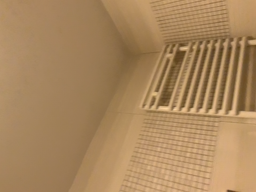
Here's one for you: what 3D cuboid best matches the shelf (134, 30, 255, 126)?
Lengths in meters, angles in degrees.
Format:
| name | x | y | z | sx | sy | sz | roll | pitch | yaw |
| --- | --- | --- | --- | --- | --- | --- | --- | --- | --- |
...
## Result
| name | x | y | z | sx | sy | sz | roll | pitch | yaw |
| --- | --- | --- | --- | --- | --- | --- | --- | --- | --- |
| shelf | 0.640 | -0.100 | 1.050 | 0.170 | 1.170 | 0.470 | 51 | -130 | -46 |
